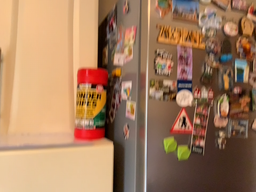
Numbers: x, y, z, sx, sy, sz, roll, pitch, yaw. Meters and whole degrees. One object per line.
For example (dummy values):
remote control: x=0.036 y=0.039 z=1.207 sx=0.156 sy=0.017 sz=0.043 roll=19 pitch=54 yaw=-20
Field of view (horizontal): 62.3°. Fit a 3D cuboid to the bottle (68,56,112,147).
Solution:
bottle: x=-0.140 y=0.020 z=0.760 sx=0.120 sy=0.290 sz=0.130 roll=2 pitch=-2 yaw=-23
